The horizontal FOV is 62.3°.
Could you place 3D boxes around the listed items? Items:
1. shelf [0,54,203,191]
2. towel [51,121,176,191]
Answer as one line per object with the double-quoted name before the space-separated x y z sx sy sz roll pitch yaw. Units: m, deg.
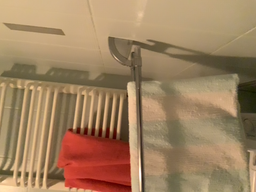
"shelf" -0.210 0.170 1.050 0.150 1.080 0.630 146 131 -85
"towel" -0.060 0.290 0.990 0.150 0.510 0.280 151 126 -85
